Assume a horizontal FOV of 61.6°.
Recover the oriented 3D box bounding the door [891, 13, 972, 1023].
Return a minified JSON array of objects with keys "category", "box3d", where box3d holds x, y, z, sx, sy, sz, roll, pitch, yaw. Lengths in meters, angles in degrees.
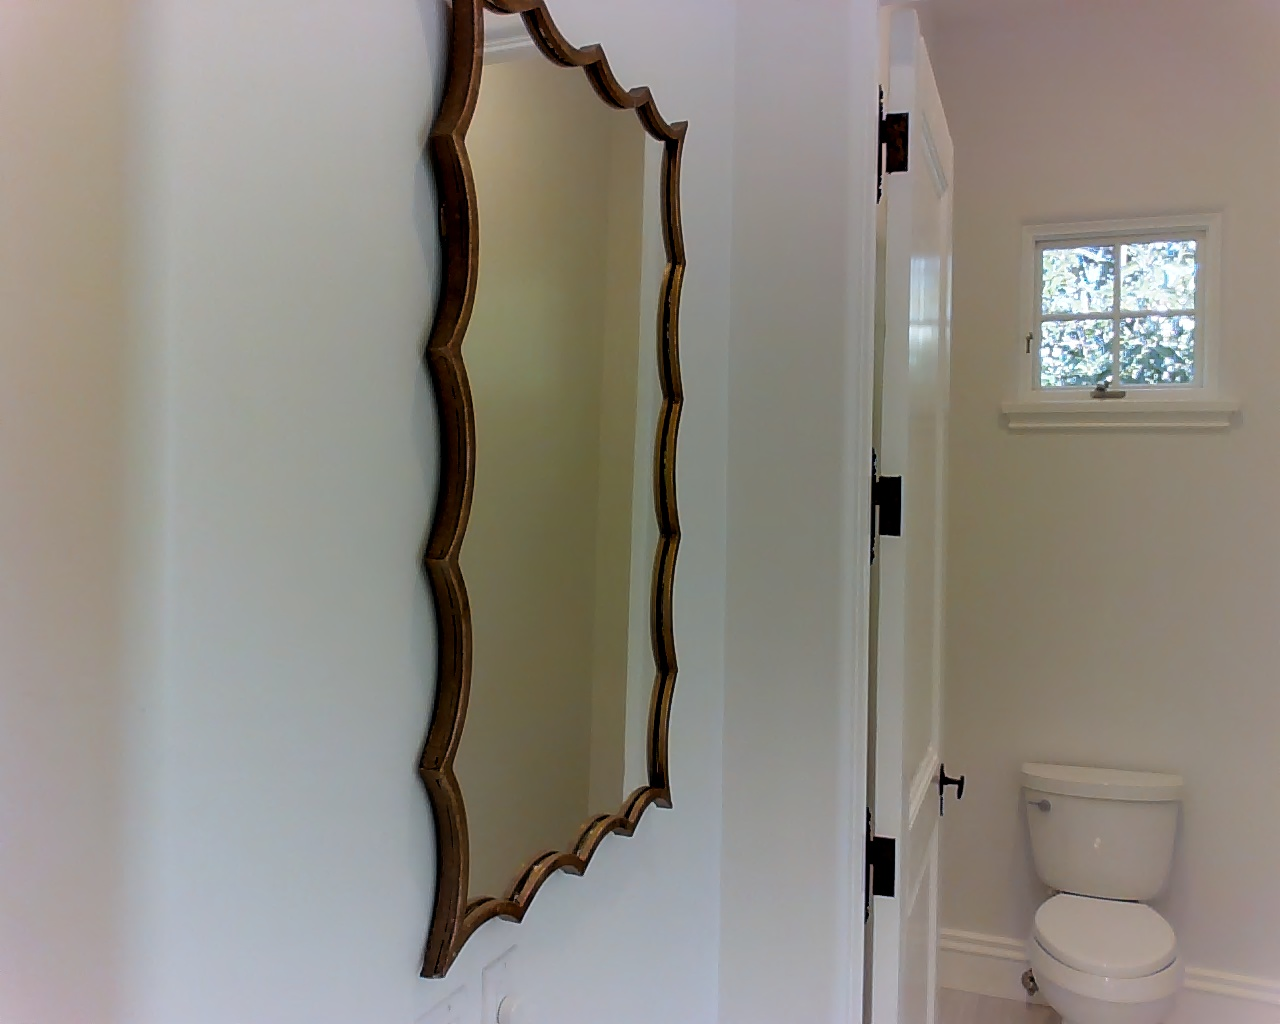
[{"category":"door","box3d":[0.630,0.370,2.290,0.050,2.471,0.880,1,1,21]}]
